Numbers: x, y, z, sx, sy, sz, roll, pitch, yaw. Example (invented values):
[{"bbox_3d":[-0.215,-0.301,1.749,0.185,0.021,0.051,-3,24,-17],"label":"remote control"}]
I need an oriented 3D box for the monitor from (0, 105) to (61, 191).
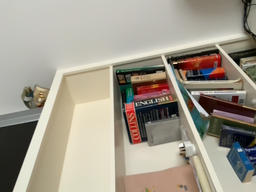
[{"bbox_3d":[-0.650,0.380,0.940,0.870,0.550,0.040,-97,-5,-53],"label":"monitor"}]
